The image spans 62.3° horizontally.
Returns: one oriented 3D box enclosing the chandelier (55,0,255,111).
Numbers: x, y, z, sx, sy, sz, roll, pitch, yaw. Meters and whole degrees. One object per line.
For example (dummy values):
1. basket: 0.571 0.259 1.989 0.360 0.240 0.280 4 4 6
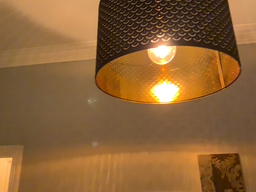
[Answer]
1. chandelier: 0.200 -0.550 1.120 0.740 1.030 0.730 -7 160 16
